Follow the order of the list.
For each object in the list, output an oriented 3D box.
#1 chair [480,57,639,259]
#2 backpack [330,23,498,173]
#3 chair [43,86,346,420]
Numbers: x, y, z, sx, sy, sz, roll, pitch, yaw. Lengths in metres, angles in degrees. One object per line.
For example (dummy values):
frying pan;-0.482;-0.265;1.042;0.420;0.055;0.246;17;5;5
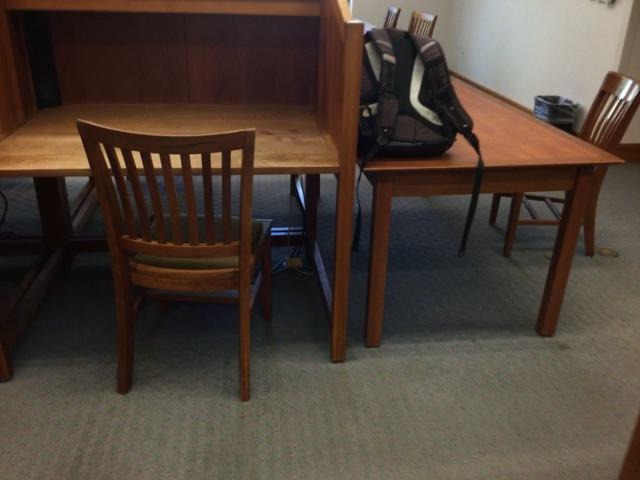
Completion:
chair;1.190;-0.430;2.920;0.570;0.890;0.560;0;23;4
backpack;0.290;-0.510;2.000;0.450;0.420;0.450;-4;23;-6
chair;-0.350;0.000;2.010;0.790;0.930;0.650;-4;23;-6
